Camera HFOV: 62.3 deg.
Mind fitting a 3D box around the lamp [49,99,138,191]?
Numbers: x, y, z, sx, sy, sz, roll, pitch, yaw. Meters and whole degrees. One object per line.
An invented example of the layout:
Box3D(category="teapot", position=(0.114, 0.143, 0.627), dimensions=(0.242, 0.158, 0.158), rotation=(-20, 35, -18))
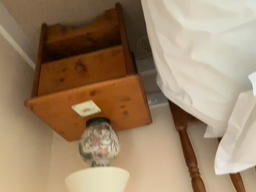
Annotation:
Box3D(category="lamp", position=(-0.120, 0.260, 0.840), dimensions=(0.240, 0.370, 0.270), rotation=(-14, 146, 8))

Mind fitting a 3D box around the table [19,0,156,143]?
Box3D(category="table", position=(-0.160, -0.120, 1.080), dimensions=(0.470, 0.510, 0.440), rotation=(-13, 146, 7))
